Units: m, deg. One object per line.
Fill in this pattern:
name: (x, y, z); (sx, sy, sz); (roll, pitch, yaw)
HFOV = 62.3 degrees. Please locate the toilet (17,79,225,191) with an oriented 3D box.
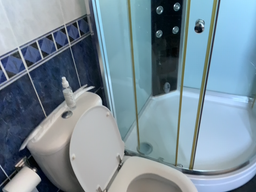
toilet: (0.010, 0.430, 1.070); (0.690, 0.810, 0.440); (13, 40, 23)
